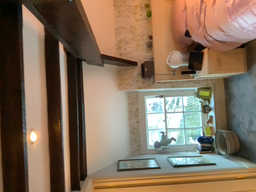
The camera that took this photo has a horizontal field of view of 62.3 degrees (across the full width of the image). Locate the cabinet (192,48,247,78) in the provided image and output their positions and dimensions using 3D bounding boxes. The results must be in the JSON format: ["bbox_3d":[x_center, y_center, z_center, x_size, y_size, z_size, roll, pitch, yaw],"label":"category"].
[{"bbox_3d":[1.220,-0.430,2.890,0.510,0.500,0.320,178,90,-87],"label":"cabinet"}]

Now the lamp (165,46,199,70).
[{"bbox_3d":[0.760,-0.530,3.000,0.240,0.400,0.270,147,121,-87],"label":"lamp"}]
